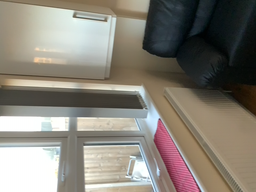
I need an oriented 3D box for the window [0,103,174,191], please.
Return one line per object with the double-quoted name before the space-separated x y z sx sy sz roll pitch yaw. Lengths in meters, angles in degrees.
"window" -0.350 0.570 1.400 1.680 1.280 0.080 -110 27 -56
